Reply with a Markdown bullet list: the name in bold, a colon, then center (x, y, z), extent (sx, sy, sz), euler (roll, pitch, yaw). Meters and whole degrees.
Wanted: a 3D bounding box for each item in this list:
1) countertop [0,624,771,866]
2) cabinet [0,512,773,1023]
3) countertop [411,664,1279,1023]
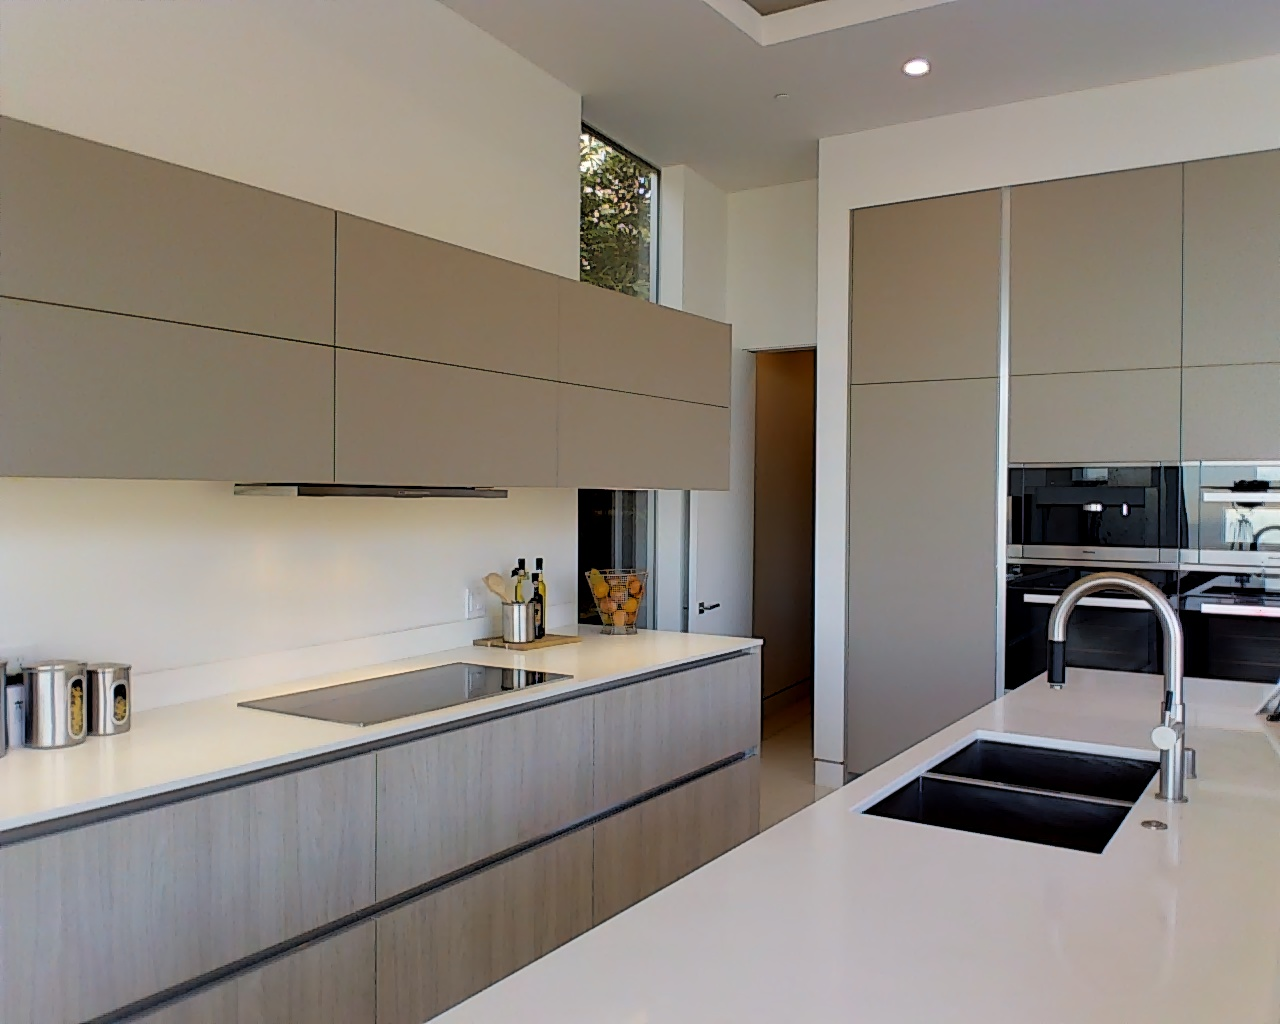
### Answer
- **countertop**: center (-0.810, 0.590, 3.420), extent (1.010, 0.080, 3.450), euler (1, 1, 33)
- **cabinet**: center (-0.820, 0.750, 3.410), extent (1.020, 1.470, 3.490), euler (1, 1, 33)
- **countertop**: center (0.940, 0.590, 2.290), extent (0.830, 0.040, 3.400), euler (1, 1, 33)
